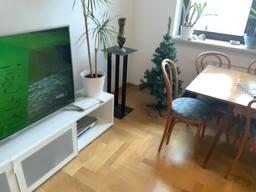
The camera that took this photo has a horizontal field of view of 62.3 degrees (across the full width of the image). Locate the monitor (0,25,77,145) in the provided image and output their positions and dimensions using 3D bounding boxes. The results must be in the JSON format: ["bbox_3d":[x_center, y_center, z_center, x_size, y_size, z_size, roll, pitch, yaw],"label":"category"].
[{"bbox_3d":[-0.840,-0.040,1.450,0.090,0.720,1.240,18,30,26],"label":"monitor"}]

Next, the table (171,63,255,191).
[{"bbox_3d":[1.400,0.340,1.870,1.720,0.730,0.850,18,30,27],"label":"table"}]
